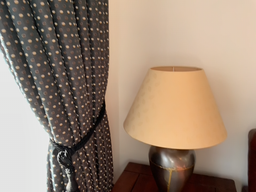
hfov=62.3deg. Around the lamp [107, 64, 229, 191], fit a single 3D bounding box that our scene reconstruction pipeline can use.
[{"bbox_3d":[0.190,0.170,1.010,0.410,0.600,0.480,3,13,16],"label":"lamp"}]
